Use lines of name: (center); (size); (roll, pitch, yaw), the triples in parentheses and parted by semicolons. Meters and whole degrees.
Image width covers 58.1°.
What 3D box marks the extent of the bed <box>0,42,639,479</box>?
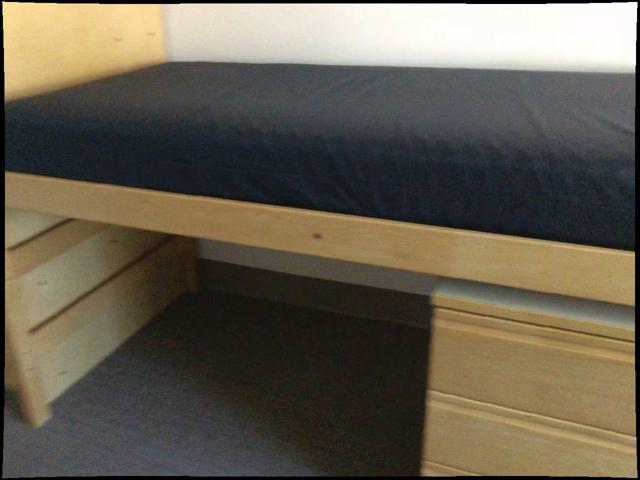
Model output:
bed: (0.100, 0.110, 1.810); (2.345, 1.132, 1.020); (10, 30, 20)
